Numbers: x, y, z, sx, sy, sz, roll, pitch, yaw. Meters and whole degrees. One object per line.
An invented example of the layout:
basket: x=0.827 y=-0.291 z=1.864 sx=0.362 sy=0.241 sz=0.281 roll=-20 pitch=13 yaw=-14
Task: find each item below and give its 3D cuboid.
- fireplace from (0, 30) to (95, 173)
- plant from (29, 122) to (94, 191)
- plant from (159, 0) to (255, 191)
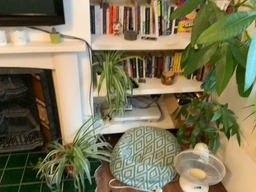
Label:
fireplace: x=-0.900 y=0.080 z=1.590 sx=1.250 sy=1.040 sz=0.360 roll=-2 pitch=33 yaw=-10
plant: x=-0.460 y=0.470 z=1.590 sx=0.390 sy=0.440 sz=0.290 roll=-2 pitch=33 yaw=-10
plant: x=0.780 y=0.130 z=1.250 sx=0.860 sy=1.530 sz=0.690 roll=-2 pitch=33 yaw=-8
